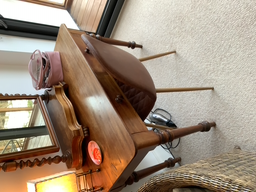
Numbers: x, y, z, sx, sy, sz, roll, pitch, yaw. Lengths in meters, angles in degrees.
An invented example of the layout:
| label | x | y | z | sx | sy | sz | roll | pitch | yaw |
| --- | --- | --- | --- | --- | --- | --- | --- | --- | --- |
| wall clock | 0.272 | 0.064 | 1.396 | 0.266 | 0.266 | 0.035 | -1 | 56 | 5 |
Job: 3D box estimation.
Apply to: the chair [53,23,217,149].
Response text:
| label | x | y | z | sx | sy | sz | roll | pitch | yaw |
| --- | --- | --- | --- | --- | --- | --- | --- | --- | --- |
| chair | 0.050 | -0.070 | 1.340 | 0.420 | 0.830 | 0.490 | 49 | 128 | 37 |

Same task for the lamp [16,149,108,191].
| label | x | y | z | sx | sy | sz | roll | pitch | yaw |
| --- | --- | --- | --- | --- | --- | --- | --- | --- | --- |
| lamp | -0.330 | 0.450 | 1.050 | 0.210 | 0.350 | 0.220 | 54 | 131 | 34 |
